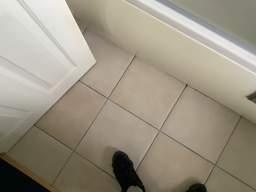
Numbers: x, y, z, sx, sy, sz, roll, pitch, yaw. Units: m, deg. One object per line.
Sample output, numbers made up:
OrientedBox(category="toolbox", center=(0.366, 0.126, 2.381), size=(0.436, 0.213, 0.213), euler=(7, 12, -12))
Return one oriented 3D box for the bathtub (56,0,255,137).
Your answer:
OrientedBox(category="bathtub", center=(0.580, -0.290, 0.940), size=(1.700, 0.540, 0.700), euler=(31, 82, 5))
